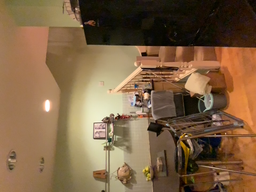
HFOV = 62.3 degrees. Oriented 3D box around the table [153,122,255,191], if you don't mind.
[{"bbox_3d":[0.860,0.830,2.530,0.990,0.890,0.800,103,166,-69],"label":"table"}]
